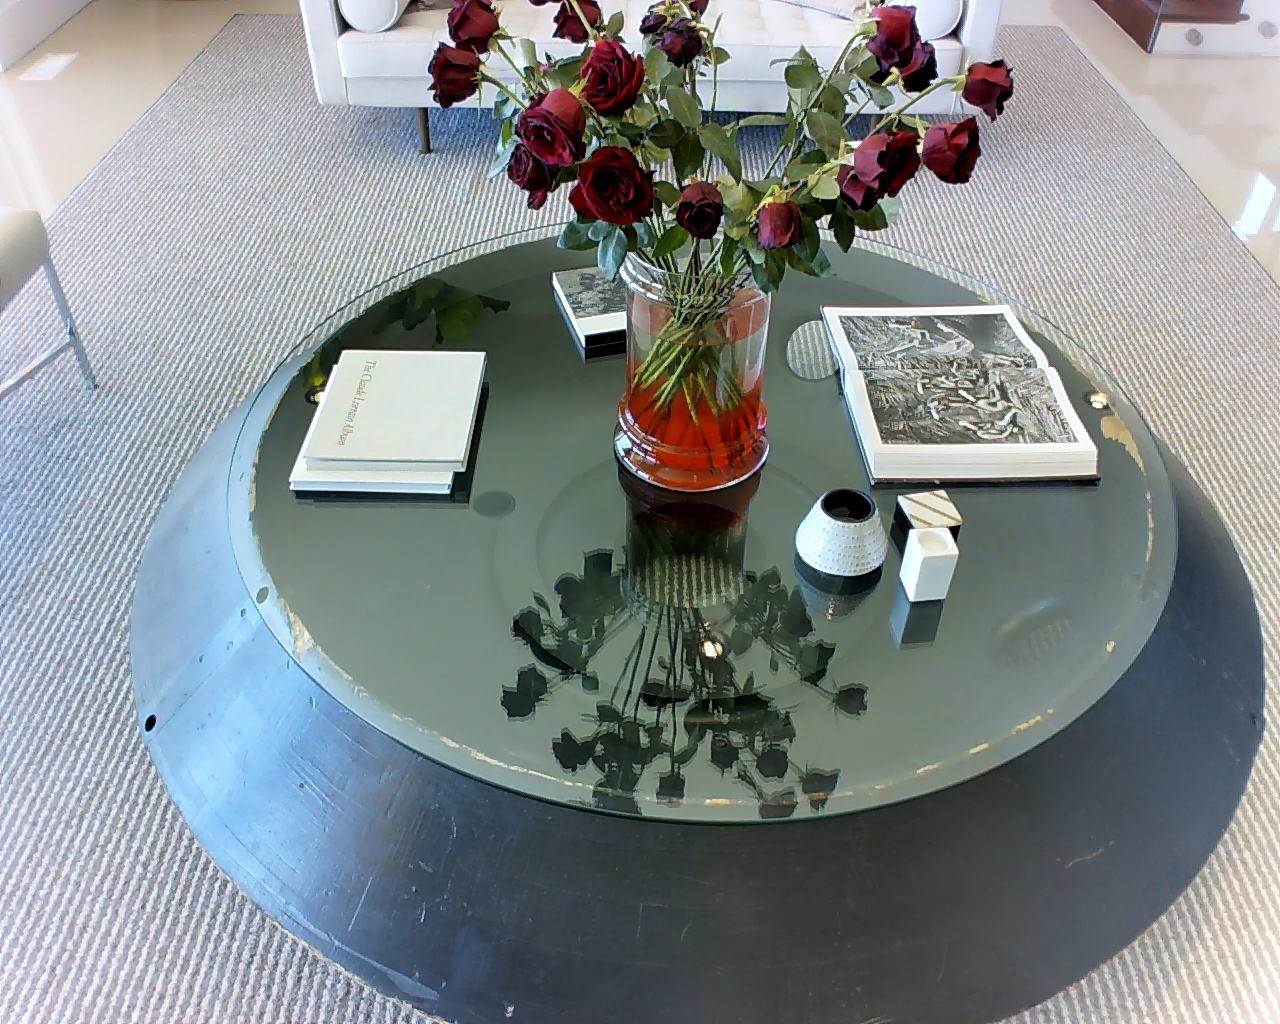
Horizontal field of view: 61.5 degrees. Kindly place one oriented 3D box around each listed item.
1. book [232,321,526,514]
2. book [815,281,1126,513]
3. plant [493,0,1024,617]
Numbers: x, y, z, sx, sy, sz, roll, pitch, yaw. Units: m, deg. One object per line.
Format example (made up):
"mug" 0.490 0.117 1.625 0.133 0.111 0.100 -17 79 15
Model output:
"book" -0.410 -0.170 1.790 0.390 0.070 0.430 1 42 1
"book" 0.540 -0.220 1.870 0.410 0.080 0.560 1 42 1
"plant" 0.120 -0.310 1.530 0.530 0.760 0.540 0 42 0
